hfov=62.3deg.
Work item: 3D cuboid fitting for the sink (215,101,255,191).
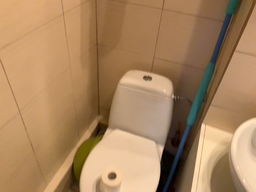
[{"bbox_3d":[0.540,0.280,0.680,0.450,0.160,0.450,17,43,12],"label":"sink"}]

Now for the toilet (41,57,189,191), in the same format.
[{"bbox_3d":[-0.010,0.320,1.150,0.390,0.740,0.700,17,43,12],"label":"toilet"}]
